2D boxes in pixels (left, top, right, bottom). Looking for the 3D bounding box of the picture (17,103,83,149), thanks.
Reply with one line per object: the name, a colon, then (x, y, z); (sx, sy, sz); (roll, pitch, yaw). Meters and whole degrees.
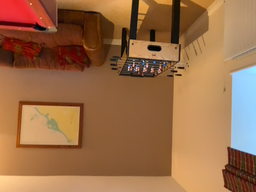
picture: (-1.400, 0.550, 3.860); (1.080, 0.800, 0.070); (3, 176, -7)
